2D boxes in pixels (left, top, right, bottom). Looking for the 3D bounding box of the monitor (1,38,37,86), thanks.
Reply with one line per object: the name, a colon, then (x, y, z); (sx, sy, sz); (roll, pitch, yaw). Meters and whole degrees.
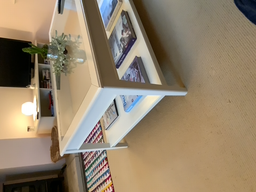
monitor: (-1.680, -0.510, 3.290); (0.060, 0.460, 0.680); (2, 90, 60)
